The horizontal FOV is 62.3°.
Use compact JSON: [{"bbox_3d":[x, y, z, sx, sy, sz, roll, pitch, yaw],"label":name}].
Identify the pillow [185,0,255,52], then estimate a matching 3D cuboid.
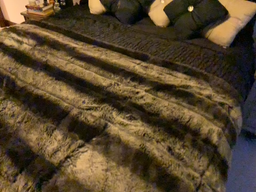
[{"bbox_3d":[0.530,-0.440,1.240,0.090,0.290,0.280,-41,19,-32],"label":"pillow"}]
